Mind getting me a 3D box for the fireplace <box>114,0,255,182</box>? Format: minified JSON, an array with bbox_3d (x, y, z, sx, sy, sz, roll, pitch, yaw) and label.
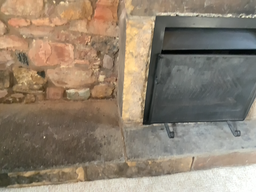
[{"bbox_3d":[0.410,-0.110,1.160,0.900,1.040,0.500,-2,35,-10],"label":"fireplace"}]
